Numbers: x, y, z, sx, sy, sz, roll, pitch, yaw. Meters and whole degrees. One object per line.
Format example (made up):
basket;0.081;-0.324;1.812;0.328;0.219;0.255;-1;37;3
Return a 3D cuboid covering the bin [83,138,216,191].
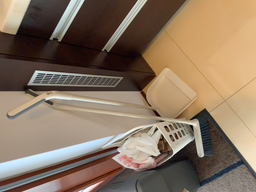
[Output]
bin;0.130;0.460;1.050;0.330;0.530;0.300;-39;68;32
